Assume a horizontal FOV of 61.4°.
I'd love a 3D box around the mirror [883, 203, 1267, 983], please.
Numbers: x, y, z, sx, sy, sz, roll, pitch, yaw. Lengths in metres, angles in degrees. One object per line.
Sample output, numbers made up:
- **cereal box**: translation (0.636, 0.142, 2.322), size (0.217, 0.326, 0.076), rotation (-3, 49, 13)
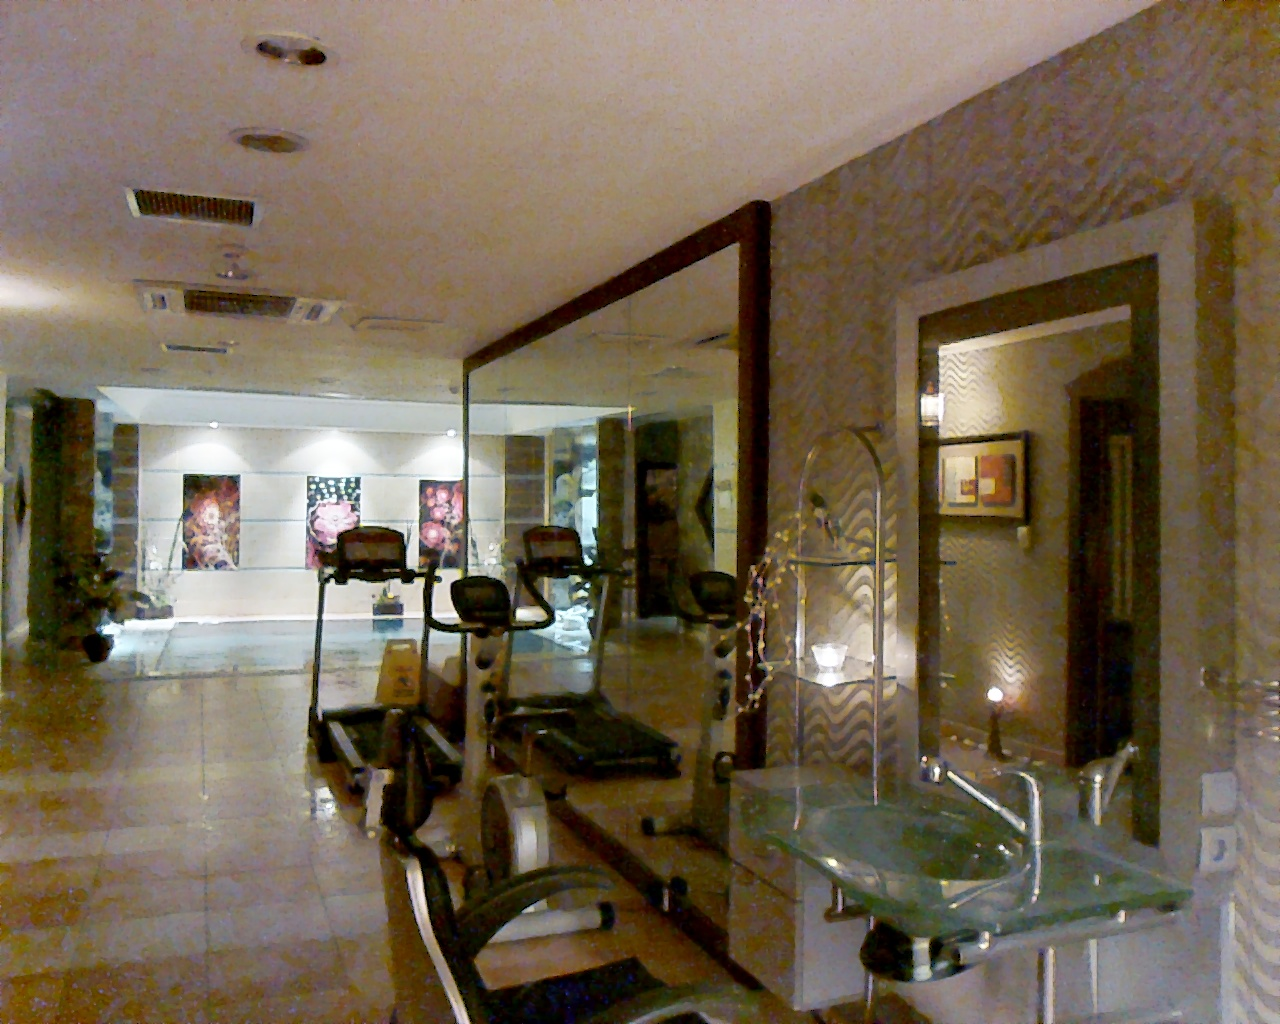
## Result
- **mirror**: translation (0.860, 0.140, 2.310), size (0.160, 1.330, 0.950), rotation (1, -1, -21)
